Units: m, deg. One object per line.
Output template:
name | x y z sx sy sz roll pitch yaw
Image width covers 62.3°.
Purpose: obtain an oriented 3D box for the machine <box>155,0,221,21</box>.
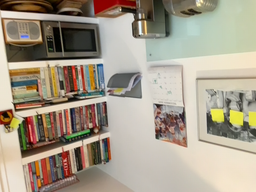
machine | 0.320 -0.550 1.150 0.220 0.210 0.260 -12 -169 -39
